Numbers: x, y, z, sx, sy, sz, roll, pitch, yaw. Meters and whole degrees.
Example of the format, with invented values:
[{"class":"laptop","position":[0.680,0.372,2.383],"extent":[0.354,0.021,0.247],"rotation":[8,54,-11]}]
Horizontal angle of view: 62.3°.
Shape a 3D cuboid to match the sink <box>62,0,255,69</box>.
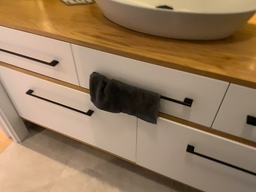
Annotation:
[{"class":"sink","position":[0.140,-0.330,0.760],"extent":[0.610,0.120,0.390],"rotation":[18,47,17]}]
